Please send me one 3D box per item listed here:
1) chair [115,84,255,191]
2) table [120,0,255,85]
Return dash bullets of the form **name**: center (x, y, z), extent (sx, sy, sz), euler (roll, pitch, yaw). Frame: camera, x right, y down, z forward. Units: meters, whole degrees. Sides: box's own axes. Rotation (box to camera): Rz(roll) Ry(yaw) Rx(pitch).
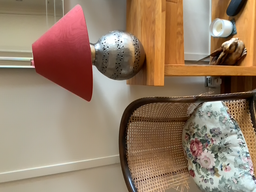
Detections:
- **chair**: center (0.430, 0.260, 1.090), extent (0.600, 0.800, 0.560), euler (166, 101, -65)
- **table**: center (0.380, -0.670, 1.170), extent (0.400, 0.750, 1.200), euler (-170, 79, -66)
